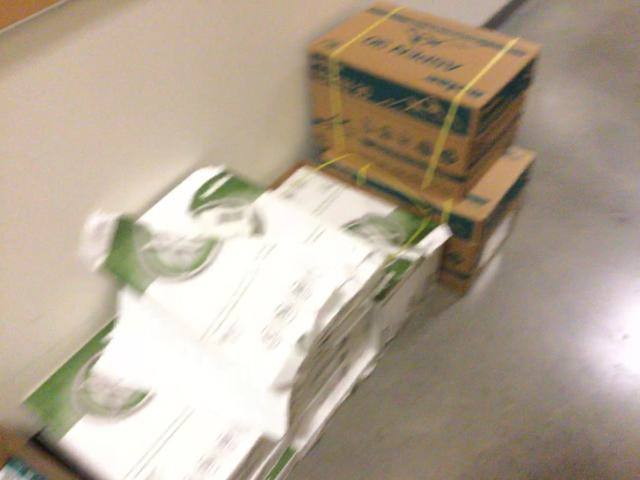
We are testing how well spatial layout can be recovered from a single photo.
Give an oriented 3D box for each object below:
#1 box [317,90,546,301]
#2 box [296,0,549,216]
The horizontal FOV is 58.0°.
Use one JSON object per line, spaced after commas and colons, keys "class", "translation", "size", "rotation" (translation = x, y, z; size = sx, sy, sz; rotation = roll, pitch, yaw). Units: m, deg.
{"class": "box", "translation": [0.300, -0.140, 1.600], "size": [0.470, 0.290, 0.350], "rotation": [26, 57, 28]}
{"class": "box", "translation": [0.250, -0.360, 1.460], "size": [0.470, 0.300, 0.350], "rotation": [26, 57, 28]}
